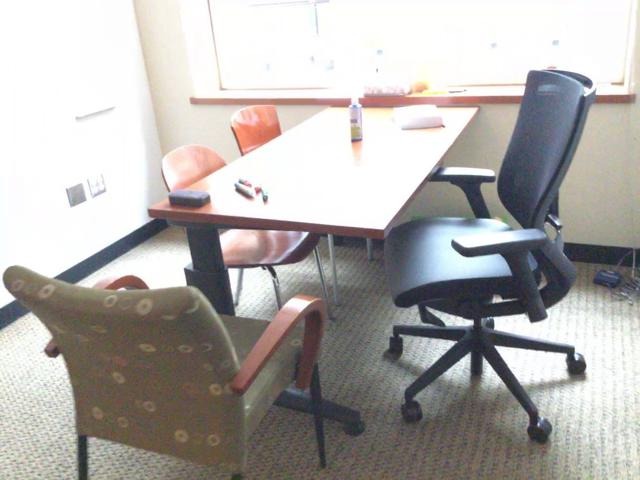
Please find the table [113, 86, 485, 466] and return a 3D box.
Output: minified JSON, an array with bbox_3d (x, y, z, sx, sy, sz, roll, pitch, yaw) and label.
[{"bbox_3d":[0.100,-0.050,2.360,0.850,0.880,1.490,6,25,24],"label":"table"}]
